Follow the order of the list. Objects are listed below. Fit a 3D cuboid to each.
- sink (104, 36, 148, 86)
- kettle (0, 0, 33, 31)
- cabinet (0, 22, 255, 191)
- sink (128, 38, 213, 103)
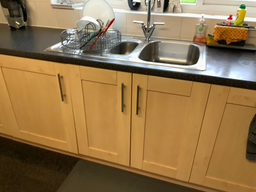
[{"bbox_3d":[0.000,-0.260,1.470,0.170,0.190,0.420,10,32,15],"label":"sink"},{"bbox_3d":[-0.960,-0.700,1.770,0.250,0.260,0.120,12,32,17],"label":"kettle"},{"bbox_3d":[0.100,0.100,1.570,3.240,0.910,0.600,10,32,15],"label":"cabinet"},{"bbox_3d":[0.290,-0.200,1.380,0.450,0.190,0.490,10,32,15],"label":"sink"}]
